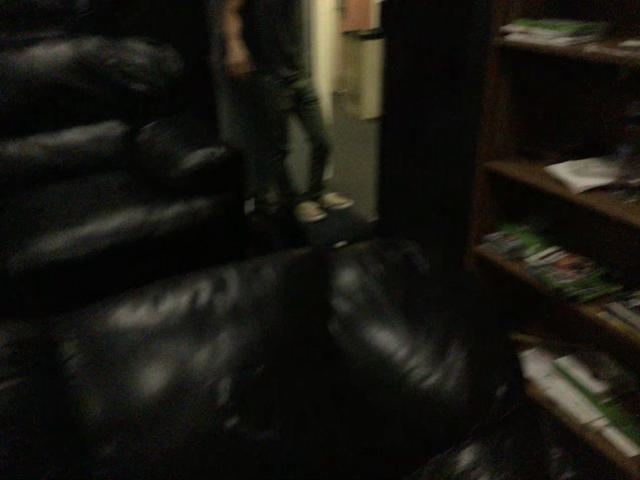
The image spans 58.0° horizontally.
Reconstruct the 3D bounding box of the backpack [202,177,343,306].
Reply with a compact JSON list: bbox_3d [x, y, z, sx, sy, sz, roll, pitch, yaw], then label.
[{"bbox_3d":[-0.230,-0.020,2.770,0.500,0.400,0.480,-12,24,-25],"label":"backpack"}]

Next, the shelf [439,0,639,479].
[{"bbox_3d":[0.810,-0.190,1.620,0.360,1.620,0.920,-12,24,-25],"label":"shelf"}]

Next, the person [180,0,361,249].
[{"bbox_3d":[-0.250,-0.860,3.040,0.750,1.610,0.560,-12,24,-25],"label":"person"}]

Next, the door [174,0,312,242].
[{"bbox_3d":[-0.400,-1.020,2.980,0.590,2.000,0.290,-12,24,-25],"label":"door"}]
